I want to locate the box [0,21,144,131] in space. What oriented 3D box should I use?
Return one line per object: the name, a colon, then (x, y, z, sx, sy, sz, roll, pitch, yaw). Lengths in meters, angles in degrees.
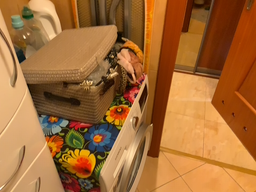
box: (-0.230, -0.110, 0.900, 0.520, 0.240, 0.320, 12, 41, 12)
